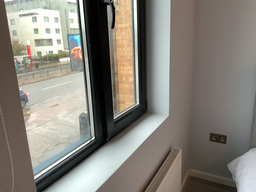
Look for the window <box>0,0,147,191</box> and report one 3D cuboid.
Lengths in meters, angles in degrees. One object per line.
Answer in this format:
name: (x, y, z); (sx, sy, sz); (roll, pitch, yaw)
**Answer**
window: (-0.140, -0.500, 1.050); (0.040, 1.530, 1.120); (6, 17, 26)
